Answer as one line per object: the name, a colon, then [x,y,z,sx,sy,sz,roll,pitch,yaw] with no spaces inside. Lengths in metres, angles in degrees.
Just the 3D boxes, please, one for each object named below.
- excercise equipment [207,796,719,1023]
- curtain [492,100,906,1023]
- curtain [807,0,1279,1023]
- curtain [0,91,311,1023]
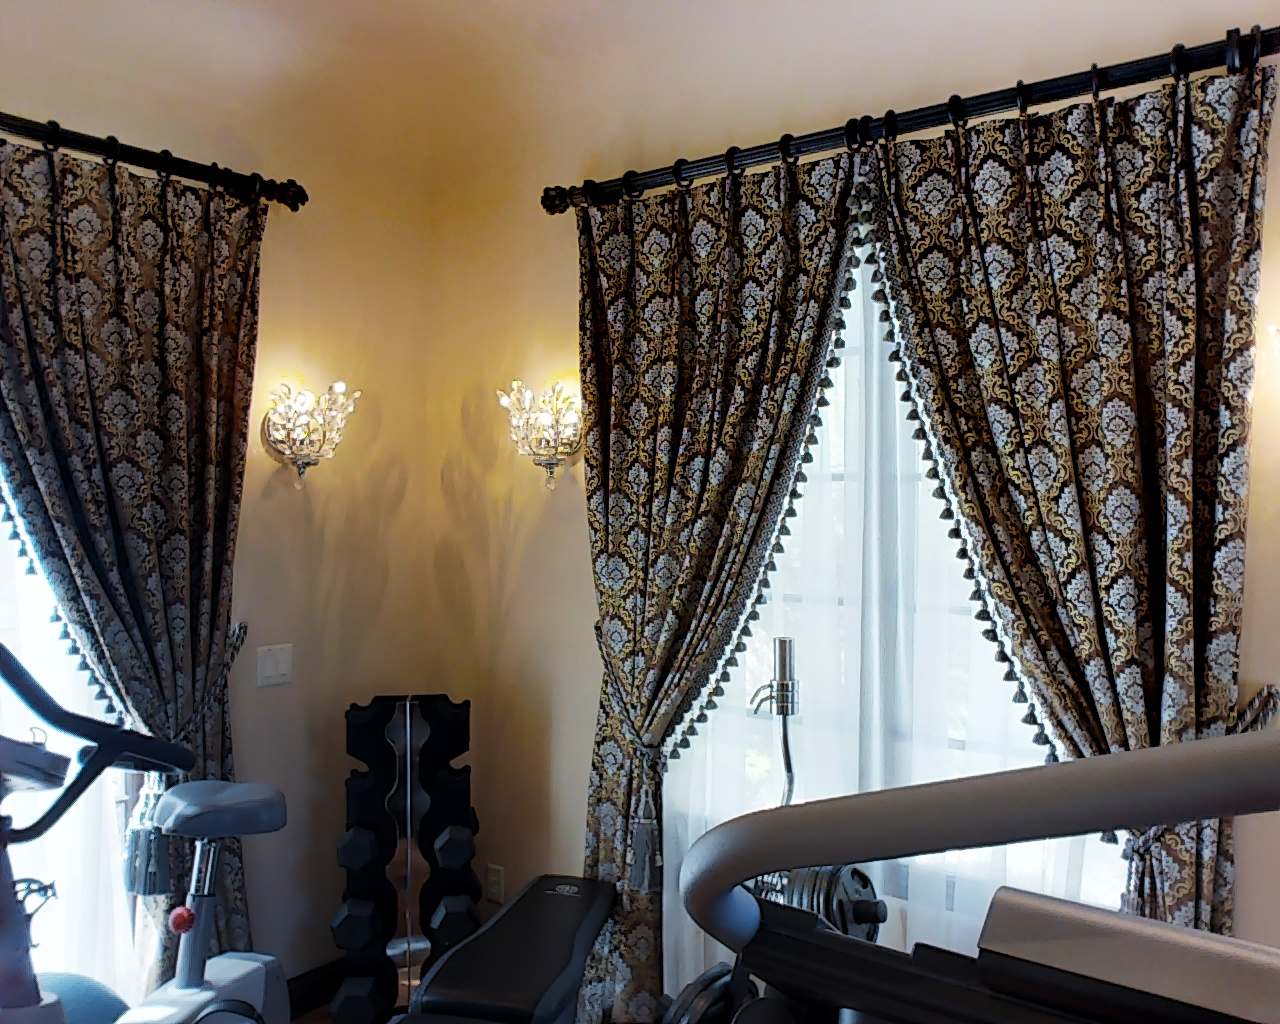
excercise equipment: [-0.370,1.240,2.290,0.590,0.630,2.260,1,1,17]
curtain: [0.110,0.300,2.930,1.140,2.510,0.270,1,1,39]
curtain: [0.920,0.290,2.330,1.090,2.570,0.240,1,1,39]
curtain: [-1.410,0.280,2.760,0.220,2.500,1.100,1,1,39]
